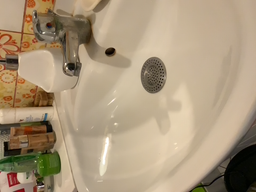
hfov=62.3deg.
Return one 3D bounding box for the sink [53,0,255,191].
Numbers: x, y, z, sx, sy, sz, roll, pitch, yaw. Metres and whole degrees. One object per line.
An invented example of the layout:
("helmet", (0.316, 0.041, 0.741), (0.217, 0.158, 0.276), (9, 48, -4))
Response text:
("sink", (0.000, -0.020, 0.410), (0.490, 0.120, 0.380), (-56, 47, 40))
